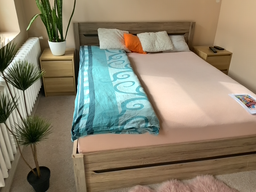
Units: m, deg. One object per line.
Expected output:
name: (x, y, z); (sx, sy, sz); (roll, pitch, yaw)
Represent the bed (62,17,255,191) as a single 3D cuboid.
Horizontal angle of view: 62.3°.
bed: (0.260, -0.220, 2.380); (1.670, 0.940, 2.070); (-5, 29, -10)
